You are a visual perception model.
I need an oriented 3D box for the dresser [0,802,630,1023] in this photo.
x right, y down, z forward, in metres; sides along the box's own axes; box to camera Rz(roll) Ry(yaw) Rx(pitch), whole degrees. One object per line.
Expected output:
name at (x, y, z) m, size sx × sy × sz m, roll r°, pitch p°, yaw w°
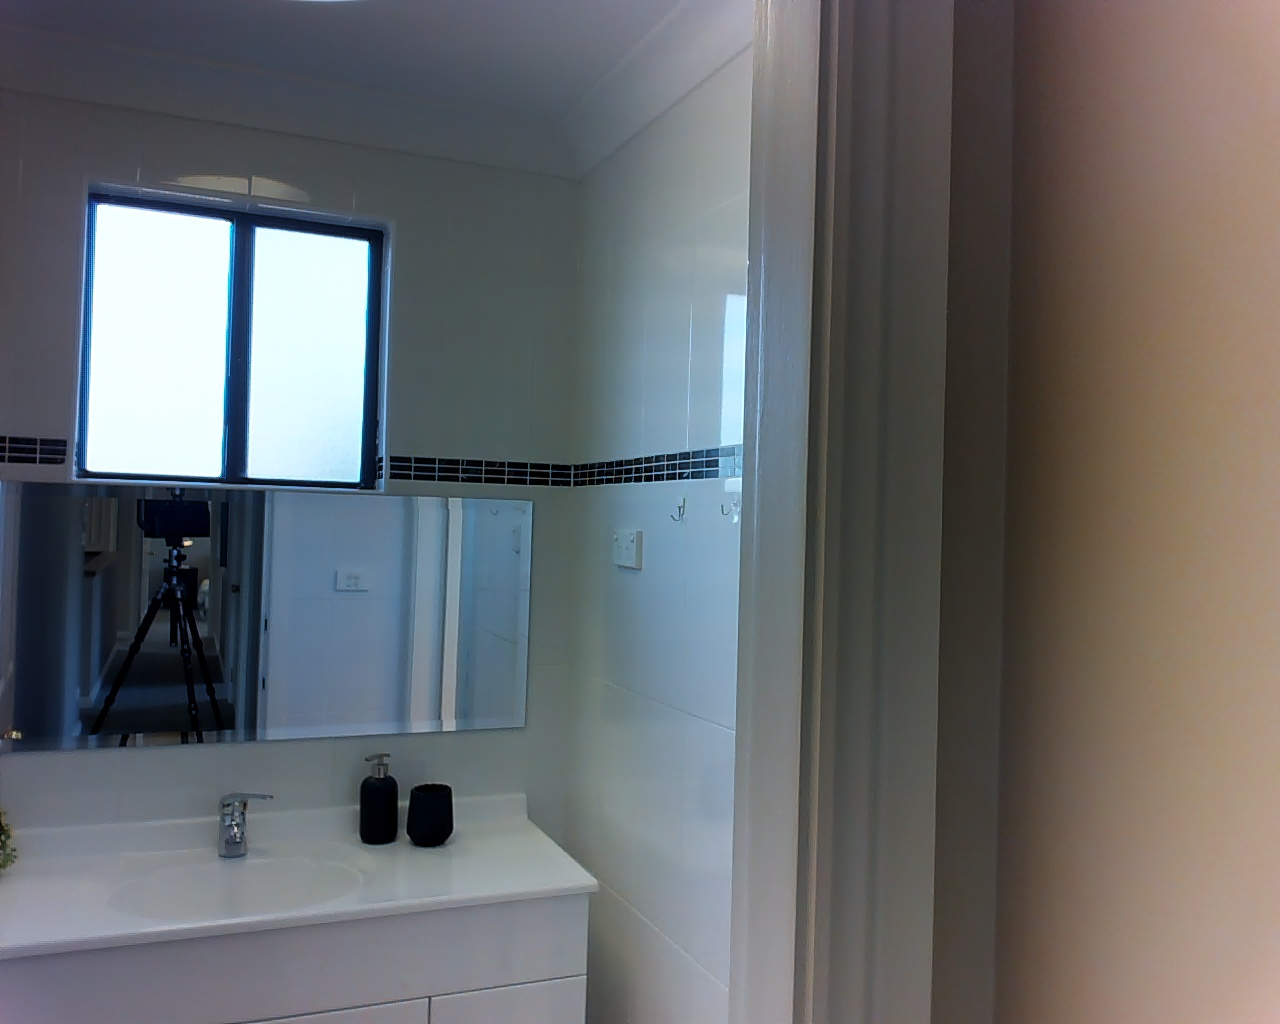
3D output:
dresser at (-0.710, 1.060, 1.880) m, size 1.270 × 0.900 × 0.470 m, roll 3°, pitch -1°, yaw -22°
